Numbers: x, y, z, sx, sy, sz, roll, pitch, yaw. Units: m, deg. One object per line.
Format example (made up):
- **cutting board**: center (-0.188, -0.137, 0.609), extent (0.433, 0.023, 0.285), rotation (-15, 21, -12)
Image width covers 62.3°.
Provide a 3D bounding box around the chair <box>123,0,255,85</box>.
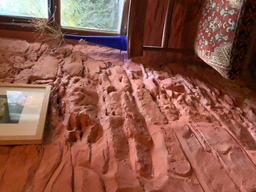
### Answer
- **chair**: center (0.470, -0.390, 1.220), extent (0.560, 0.860, 0.490), rotation (-121, 36, -65)
